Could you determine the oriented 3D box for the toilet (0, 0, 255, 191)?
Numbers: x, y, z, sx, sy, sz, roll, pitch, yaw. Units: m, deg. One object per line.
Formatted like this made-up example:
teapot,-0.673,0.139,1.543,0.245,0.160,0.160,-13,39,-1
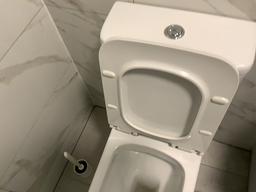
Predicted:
toilet,0.060,0.250,0.760,0.410,0.860,0.660,15,63,13
